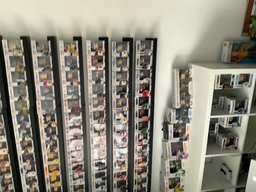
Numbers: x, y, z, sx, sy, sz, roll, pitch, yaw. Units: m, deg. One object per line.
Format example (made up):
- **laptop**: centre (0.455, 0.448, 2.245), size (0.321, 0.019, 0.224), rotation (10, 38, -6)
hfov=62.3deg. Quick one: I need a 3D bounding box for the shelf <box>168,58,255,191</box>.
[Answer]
- **shelf**: centre (0.870, 0.400, 2.030), size (0.420, 0.760, 1.460), rotation (-122, 31, -70)
